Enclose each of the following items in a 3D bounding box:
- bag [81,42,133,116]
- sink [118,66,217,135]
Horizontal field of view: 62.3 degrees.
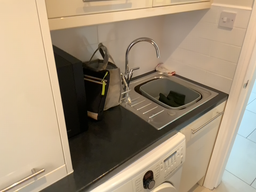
[{"bbox_3d":[-0.130,-0.110,1.260,0.160,0.330,0.280,-20,37,-34],"label":"bag"},{"bbox_3d":[0.260,-0.010,1.510,0.410,0.170,0.540,-22,37,-35],"label":"sink"}]
